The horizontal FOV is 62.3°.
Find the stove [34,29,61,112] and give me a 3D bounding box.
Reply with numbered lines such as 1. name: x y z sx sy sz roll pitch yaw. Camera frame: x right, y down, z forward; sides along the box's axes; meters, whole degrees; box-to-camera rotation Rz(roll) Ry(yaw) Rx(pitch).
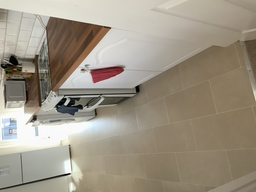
1. stove: -0.820 -0.220 2.120 0.570 0.090 0.660 -24 71 54
